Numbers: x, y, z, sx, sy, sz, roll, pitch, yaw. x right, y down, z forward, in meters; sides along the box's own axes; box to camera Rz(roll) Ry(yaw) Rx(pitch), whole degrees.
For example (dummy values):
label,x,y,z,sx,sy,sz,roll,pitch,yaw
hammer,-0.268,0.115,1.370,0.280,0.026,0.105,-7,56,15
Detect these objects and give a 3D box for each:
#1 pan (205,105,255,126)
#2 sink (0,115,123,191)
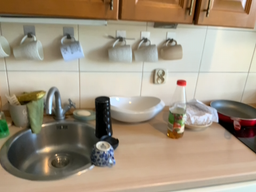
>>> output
label,x,y,z,sx,sy,sz,roll,pitch,yaw
pan,0.640,0.110,1.280,0.250,0.020,0.240,0,22,-10
sink,-0.300,0.270,0.960,0.470,0.180,0.430,-1,22,-13
